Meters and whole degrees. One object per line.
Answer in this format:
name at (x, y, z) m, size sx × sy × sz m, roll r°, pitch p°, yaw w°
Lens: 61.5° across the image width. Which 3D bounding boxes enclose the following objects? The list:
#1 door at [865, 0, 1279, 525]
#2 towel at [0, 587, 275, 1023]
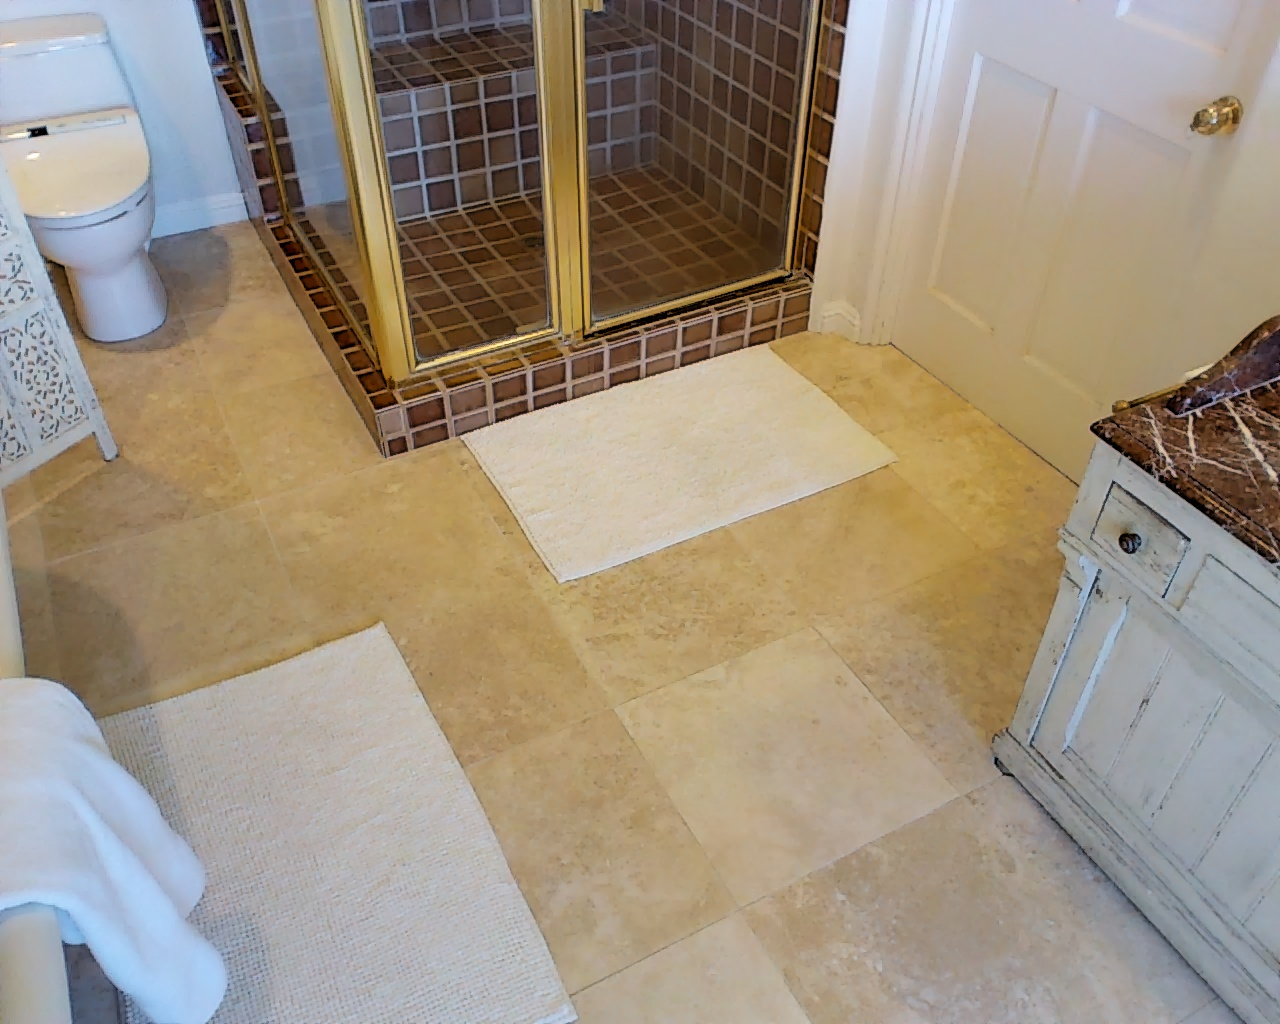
door at (0.890, -1.020, 2.070) m, size 0.110 × 2.060 × 0.890 m, roll -19°, pitch 45°, yaw -21°
towel at (-0.750, 0.490, 1.390) m, size 0.350 × 0.570 × 0.420 m, roll -20°, pitch 45°, yaw -21°
